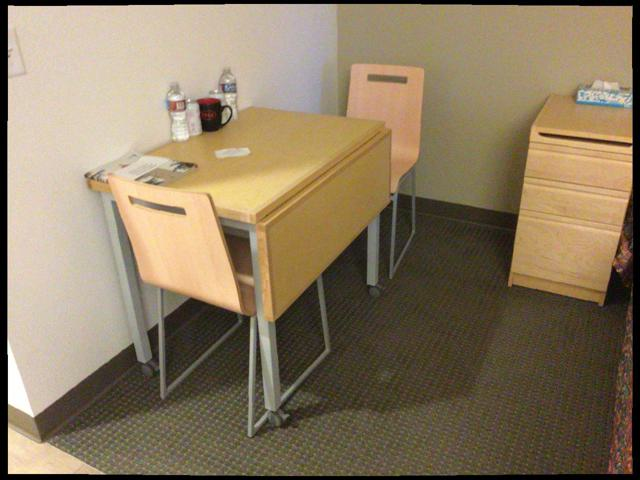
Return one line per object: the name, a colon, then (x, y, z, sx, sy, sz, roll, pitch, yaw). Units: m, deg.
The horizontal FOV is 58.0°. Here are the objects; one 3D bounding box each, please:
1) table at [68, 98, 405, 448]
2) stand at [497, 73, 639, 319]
table: (-0.210, 0.020, 2.160, 0.679, 0.791, 1.000, 14, 33, 27)
stand: (1.138, -0.220, 2.480, 0.499, 0.811, 0.600, 14, 32, 27)
